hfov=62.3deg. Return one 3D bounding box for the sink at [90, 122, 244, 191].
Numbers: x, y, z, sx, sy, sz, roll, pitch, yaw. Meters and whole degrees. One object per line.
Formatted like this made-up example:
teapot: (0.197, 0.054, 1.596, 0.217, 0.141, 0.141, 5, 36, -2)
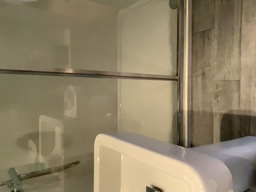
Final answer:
sink: (0.070, 0.340, 0.720, 0.530, 0.180, 0.420, 4, 94, 54)
